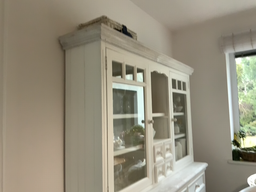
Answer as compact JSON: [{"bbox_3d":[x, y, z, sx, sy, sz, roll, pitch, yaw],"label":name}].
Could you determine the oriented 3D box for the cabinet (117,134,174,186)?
[{"bbox_3d":[0.170,0.550,1.930,0.350,0.340,0.420,-4,-5,34],"label":"cabinet"}]

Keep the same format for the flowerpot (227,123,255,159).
[{"bbox_3d":[1.430,0.540,2.640,0.300,0.390,0.350,-4,-5,31],"label":"flowerpot"}]

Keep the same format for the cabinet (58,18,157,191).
[{"bbox_3d":[-0.120,0.140,1.520,0.380,1.110,0.620,-4,-5,34],"label":"cabinet"}]

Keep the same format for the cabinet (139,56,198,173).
[{"bbox_3d":[0.480,0.190,2.390,0.380,1.110,0.670,-4,-5,34],"label":"cabinet"}]
